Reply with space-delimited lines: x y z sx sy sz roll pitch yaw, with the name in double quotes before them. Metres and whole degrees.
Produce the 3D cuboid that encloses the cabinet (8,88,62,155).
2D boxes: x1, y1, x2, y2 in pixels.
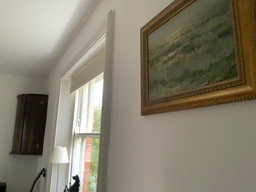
"cabinet" -1.460 0.420 3.340 0.640 0.930 0.630 7 -12 -26
